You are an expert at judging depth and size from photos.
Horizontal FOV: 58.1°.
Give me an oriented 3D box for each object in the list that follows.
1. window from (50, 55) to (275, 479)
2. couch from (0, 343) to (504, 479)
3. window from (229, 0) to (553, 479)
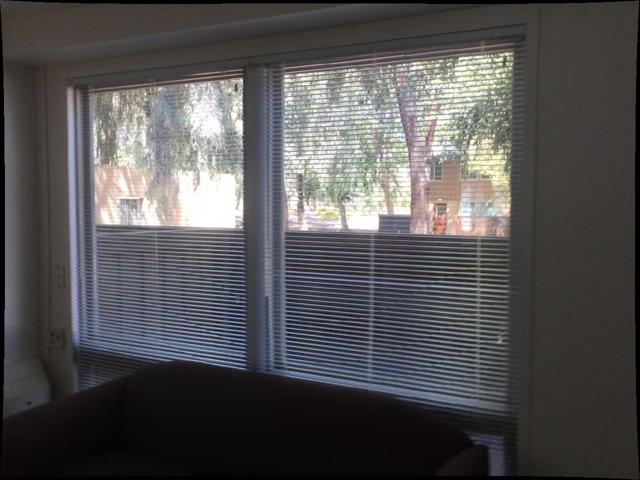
[{"bbox_3d":[-0.819,0.160,2.960,1.158,1.983,0.280,2,5,26],"label":"window"},{"bbox_3d":[-0.319,0.982,2.240,1.838,0.761,0.940,2,5,26],"label":"couch"},{"bbox_3d":[0.280,0.120,2.480,1.268,1.993,0.420,2,5,26],"label":"window"}]
